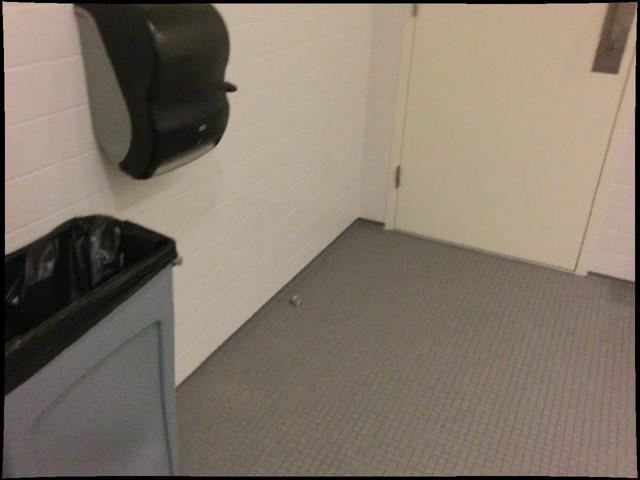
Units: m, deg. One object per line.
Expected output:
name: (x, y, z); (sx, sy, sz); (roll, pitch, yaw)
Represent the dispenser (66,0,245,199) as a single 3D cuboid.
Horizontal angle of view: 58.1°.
dispenser: (-0.379, -0.361, 1.420); (0.230, 0.391, 0.320); (15, 31, 23)
